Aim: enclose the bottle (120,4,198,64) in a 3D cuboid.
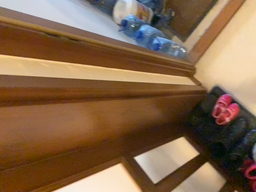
[{"bbox_3d":[0.220,-0.430,1.490,0.490,0.350,0.090,49,118,25],"label":"bottle"}]
